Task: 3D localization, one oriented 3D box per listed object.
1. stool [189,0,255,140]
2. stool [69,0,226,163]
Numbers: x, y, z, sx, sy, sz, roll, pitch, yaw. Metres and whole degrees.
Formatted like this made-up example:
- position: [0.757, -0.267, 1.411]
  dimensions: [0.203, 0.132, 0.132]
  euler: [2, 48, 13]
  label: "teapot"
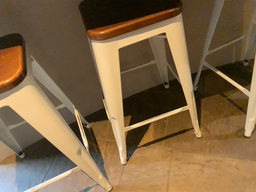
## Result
- position: [0.590, -0.240, 0.950]
  dimensions: [0.420, 0.660, 0.430]
  euler: [-26, 45, -12]
  label: "stool"
- position: [0.080, -0.110, 0.960]
  dimensions: [0.410, 0.660, 0.410]
  euler: [-22, 45, -9]
  label: "stool"
